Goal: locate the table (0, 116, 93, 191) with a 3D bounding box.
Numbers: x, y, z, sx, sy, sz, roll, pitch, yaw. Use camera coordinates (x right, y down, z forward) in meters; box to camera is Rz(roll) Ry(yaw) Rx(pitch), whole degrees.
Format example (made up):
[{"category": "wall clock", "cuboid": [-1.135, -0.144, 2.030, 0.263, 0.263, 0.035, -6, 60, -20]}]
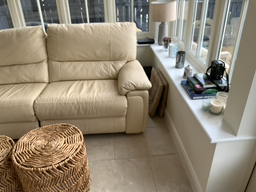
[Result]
[{"category": "table", "cuboid": [-0.530, 0.490, 1.530, 0.480, 0.460, 0.470, -4, 30, -5]}]
